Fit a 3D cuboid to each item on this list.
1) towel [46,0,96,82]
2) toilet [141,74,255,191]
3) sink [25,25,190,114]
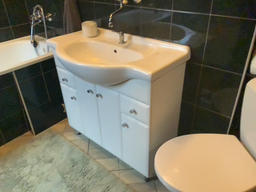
[{"bbox_3d":[-0.440,-0.500,1.630,0.300,0.740,0.130,21,38,31],"label":"towel"},{"bbox_3d":[0.420,0.340,1.010,0.650,0.750,0.400,-5,32,-6],"label":"toilet"},{"bbox_3d":[-0.150,-0.230,1.240,0.840,0.160,0.480,24,40,35],"label":"sink"}]
